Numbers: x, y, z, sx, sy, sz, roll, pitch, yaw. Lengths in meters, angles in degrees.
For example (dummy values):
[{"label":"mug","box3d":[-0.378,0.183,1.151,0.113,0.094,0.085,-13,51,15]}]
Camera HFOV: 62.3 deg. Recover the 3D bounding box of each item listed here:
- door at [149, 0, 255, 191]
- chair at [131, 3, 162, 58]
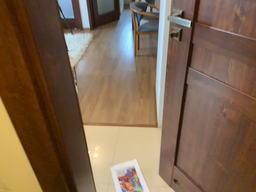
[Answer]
[{"label":"door","box3d":[0.410,-0.100,0.730,0.090,2.110,0.860,-22,39,-26]},{"label":"chair","box3d":[0.300,-1.070,3.440,0.430,0.720,0.550,4,35,8]}]
